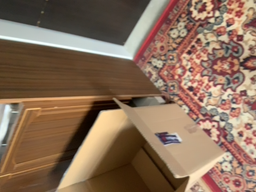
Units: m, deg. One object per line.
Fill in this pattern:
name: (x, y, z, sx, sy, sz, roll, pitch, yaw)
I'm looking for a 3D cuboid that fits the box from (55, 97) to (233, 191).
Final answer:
box: (0.070, 0.400, 1.140, 0.460, 0.580, 0.630, 50, 121, 28)
